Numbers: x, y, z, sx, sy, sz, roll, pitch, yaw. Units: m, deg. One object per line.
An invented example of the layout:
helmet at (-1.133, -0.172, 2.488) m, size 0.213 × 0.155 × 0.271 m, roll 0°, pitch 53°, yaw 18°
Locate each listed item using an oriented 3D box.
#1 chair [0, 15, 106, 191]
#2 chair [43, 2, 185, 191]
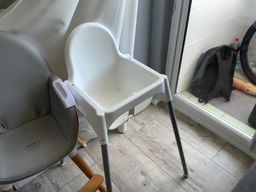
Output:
chair at (-0.430, 0.220, 0.930) m, size 0.430 × 0.930 × 0.400 m, roll -32°, pitch 49°, yaw -30°
chair at (-0.050, 0.090, 1.070) m, size 0.340 × 0.920 × 0.400 m, roll -32°, pitch 49°, yaw -30°
